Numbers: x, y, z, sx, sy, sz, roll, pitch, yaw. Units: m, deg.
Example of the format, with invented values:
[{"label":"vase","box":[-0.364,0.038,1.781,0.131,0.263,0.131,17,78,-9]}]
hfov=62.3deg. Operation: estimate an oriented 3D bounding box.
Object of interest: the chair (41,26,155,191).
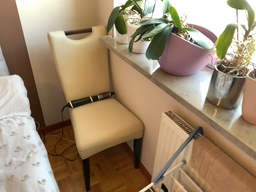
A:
[{"label":"chair","box":[-0.240,0.060,1.540,0.460,0.890,0.680,-16,38,-25]}]
